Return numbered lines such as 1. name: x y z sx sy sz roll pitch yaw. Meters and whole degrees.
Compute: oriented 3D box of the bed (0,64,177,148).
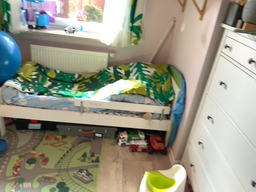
1. bed: -0.450 0.070 2.410 1.750 0.410 0.890 5 27 -6
